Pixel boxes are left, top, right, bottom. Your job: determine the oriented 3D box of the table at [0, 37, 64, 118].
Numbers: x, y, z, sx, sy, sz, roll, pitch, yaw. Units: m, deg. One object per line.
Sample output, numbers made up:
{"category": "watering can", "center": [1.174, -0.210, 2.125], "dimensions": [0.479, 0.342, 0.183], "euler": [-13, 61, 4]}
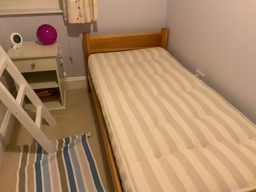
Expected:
{"category": "table", "center": [-0.950, -0.200, 2.200], "dimensions": [0.450, 0.680, 0.420], "euler": [-8, 33, -15]}
